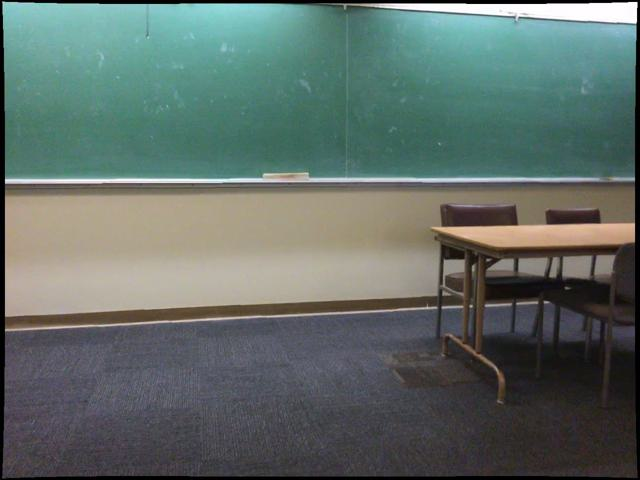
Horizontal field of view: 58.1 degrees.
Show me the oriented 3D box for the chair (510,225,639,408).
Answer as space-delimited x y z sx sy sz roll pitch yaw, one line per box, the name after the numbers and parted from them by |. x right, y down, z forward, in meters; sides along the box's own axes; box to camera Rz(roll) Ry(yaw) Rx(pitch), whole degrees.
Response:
1.466 0.321 2.900 0.699 0.712 0.640 -4 8 -33 | chair

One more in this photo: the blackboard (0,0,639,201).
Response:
0.110 -0.942 3.910 5.966 1.343 0.110 -1 9 -15 | blackboard
